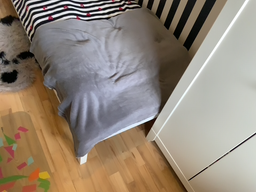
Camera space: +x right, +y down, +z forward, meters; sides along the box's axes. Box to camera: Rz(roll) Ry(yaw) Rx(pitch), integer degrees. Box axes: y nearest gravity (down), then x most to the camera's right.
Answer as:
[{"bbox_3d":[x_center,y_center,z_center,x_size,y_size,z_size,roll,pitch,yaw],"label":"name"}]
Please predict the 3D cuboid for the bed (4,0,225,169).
[{"bbox_3d":[-0.370,-0.650,1.780,1.020,0.470,2.120,-18,60,-27],"label":"bed"}]
